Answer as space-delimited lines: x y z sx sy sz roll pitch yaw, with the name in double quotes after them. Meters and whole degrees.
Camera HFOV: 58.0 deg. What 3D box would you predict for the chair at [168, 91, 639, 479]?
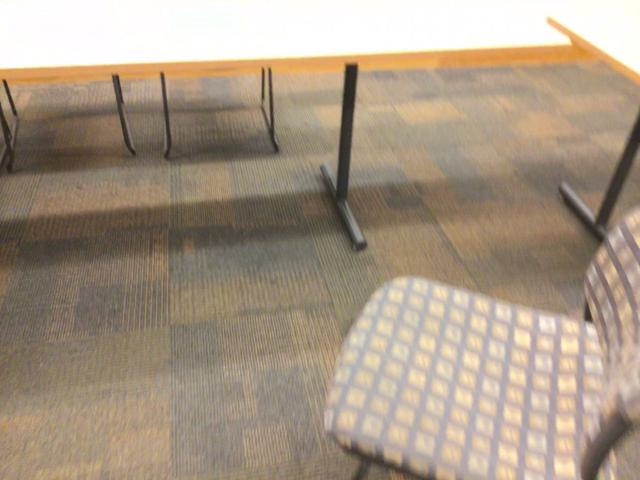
0.250 0.270 1.060 0.720 0.770 0.590 16 41 18 "chair"
